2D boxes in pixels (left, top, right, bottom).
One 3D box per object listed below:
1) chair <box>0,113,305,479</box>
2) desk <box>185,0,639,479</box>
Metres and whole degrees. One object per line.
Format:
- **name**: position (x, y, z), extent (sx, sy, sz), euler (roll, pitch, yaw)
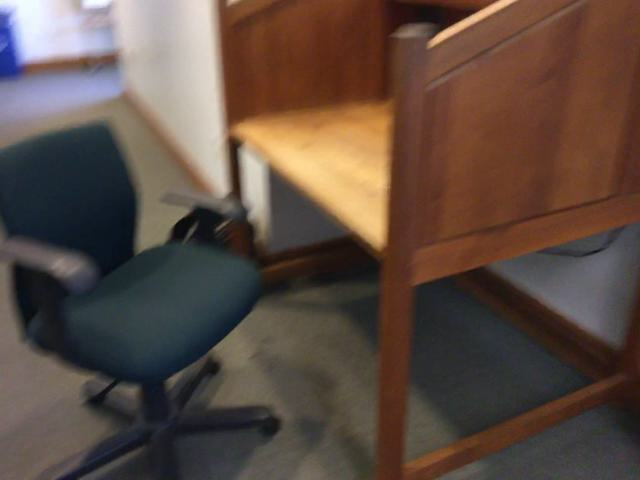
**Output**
- **chair**: position (-0.460, 0.210, 1.540), extent (0.590, 0.980, 0.590), euler (7, 23, 25)
- **desk**: position (0.290, -0.230, 1.820), extent (1.030, 1.510, 1.390), euler (-11, 22, -21)
